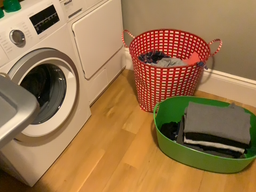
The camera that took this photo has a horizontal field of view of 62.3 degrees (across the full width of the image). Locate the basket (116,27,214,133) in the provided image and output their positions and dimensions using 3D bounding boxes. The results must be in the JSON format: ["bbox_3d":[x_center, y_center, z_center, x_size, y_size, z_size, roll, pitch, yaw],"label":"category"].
[{"bbox_3d":[0.260,-0.130,1.450,0.490,0.430,0.500,12,46,17],"label":"basket"}]

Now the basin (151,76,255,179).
[{"bbox_3d":[0.460,0.140,1.120,0.570,0.170,0.400,15,47,19],"label":"basin"}]
